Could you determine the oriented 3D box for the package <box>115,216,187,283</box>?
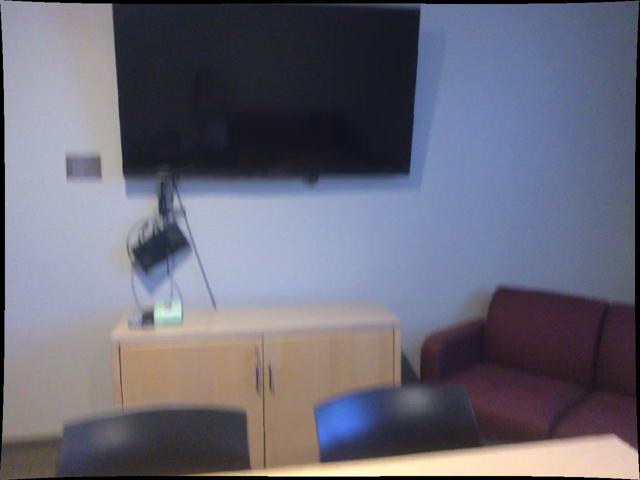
[{"bbox_3d":[-0.779,0.040,2.680,0.300,0.280,0.120,-3,8,-11],"label":"package"}]
